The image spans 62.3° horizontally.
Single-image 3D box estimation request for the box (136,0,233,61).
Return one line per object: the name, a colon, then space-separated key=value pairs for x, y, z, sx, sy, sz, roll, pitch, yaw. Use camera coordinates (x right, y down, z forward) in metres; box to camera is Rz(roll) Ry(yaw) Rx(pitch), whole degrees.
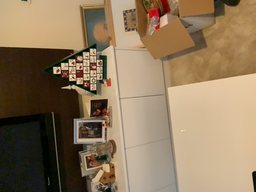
box: x=0.370 y=-0.680 z=1.590 sx=0.580 sy=0.330 sz=0.710 roll=-10 pitch=86 yaw=58
